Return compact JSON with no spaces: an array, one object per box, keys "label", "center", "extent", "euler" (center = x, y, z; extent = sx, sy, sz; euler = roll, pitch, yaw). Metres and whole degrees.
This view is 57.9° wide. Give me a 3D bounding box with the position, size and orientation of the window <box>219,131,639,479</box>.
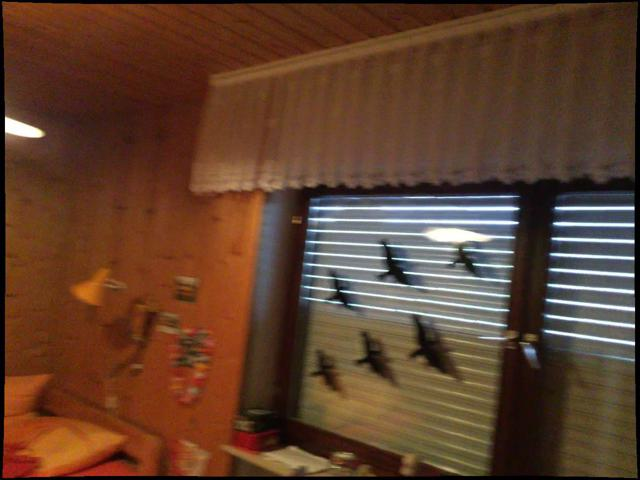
[{"label":"window","center":[0.559,0.370,2.020],"extent":[2.109,1.351,0.420],"euler":[4,-3,41]}]
